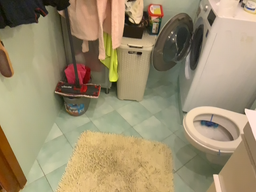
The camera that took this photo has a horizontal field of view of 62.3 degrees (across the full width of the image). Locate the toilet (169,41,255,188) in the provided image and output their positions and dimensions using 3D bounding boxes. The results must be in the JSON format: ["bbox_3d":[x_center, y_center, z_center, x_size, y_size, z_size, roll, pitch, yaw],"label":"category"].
[{"bbox_3d":[0.620,0.160,1.340,0.540,0.840,0.370,9,41,3],"label":"toilet"}]
